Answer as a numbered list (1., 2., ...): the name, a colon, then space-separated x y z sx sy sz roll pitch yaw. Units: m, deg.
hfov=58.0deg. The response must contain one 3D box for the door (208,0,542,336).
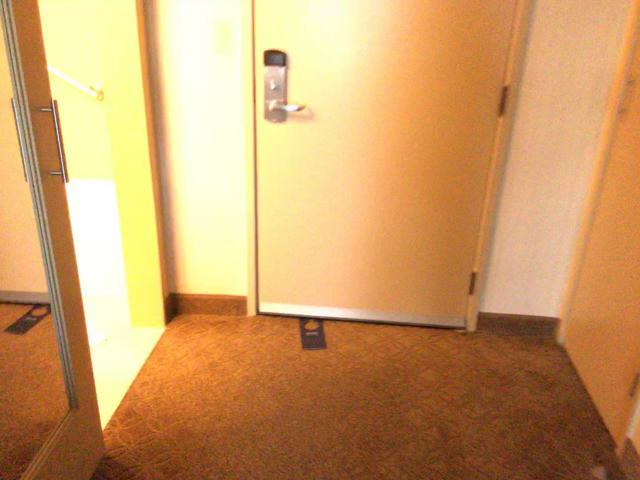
1. door: 0.170 -0.570 2.070 1.090 1.970 0.160 2 23 3

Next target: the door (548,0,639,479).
1. door: 0.990 -0.400 1.700 0.050 2.160 0.770 2 23 3

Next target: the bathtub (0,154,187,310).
1. bathtub: -1.490 -0.090 2.940 1.390 0.480 0.810 2 23 3
